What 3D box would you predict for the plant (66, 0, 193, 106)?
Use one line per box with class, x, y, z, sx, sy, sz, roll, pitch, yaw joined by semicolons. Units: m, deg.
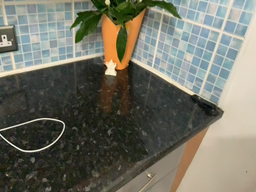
plant;-0.020;-0.260;0.800;0.260;0.400;0.370;-22;44;-37
